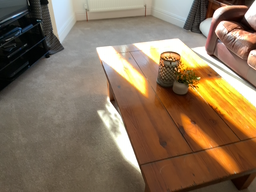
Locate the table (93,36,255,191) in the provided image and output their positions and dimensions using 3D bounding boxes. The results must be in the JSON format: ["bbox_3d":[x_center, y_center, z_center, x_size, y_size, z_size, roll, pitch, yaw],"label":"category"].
[{"bbox_3d":[0.240,0.070,1.630,0.800,0.480,1.350,-9,40,-13],"label":"table"}]
